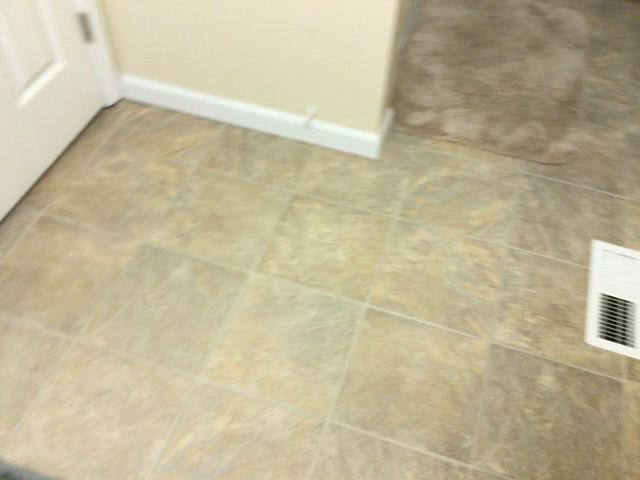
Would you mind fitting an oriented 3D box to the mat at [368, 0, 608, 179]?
[{"bbox_3d":[0.630,-0.640,2.030,0.660,0.050,0.970,16,53,12],"label":"mat"}]
